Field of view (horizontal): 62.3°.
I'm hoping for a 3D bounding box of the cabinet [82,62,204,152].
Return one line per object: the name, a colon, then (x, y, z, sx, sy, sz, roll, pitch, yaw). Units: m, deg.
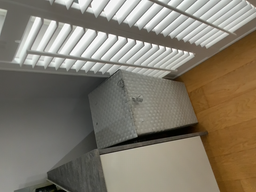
cabinet: (0.100, 0.080, 1.380, 0.390, 0.610, 0.390, -33, 65, 44)
